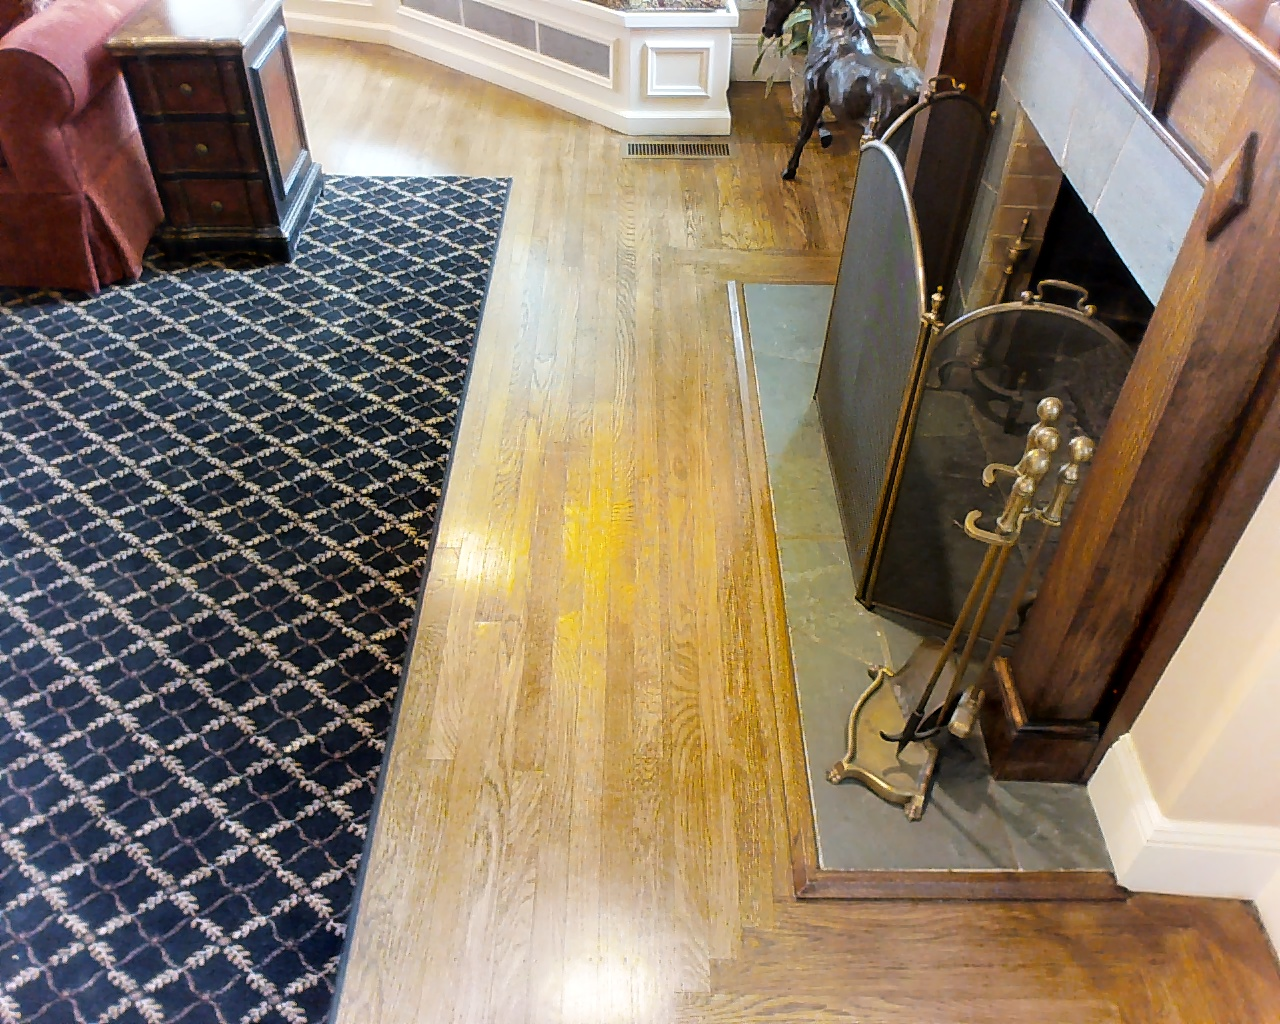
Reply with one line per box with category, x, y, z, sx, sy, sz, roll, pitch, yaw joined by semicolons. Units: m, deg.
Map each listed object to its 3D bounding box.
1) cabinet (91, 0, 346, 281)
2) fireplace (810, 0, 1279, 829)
cabinet;-1.140;-1.080;3.040;0.400;0.670;0.510;0;42;0
fireplace;0.750;-0.700;1.720;0.580;1.860;1.570;1;42;0
